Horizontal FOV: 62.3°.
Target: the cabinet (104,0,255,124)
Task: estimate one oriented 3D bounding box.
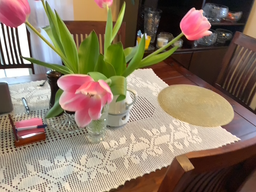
[{"bbox_3d":[0.520,-0.670,2.060,1.350,1.720,0.470,-9,36,-24],"label":"cabinet"}]

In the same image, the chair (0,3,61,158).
[{"bbox_3d":[-0.850,-0.120,1.620,0.490,1.000,0.530,-10,36,-25],"label":"chair"}]

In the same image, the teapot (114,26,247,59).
[{"bbox_3d":[0.530,-0.560,2.110,1.270,0.150,0.410,-7,35,-21],"label":"teapot"}]

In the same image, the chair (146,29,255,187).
[{"bbox_3d":[0.550,0.080,1.560,0.540,0.990,0.480,-9,36,-23],"label":"chair"}]

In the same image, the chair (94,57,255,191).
[{"bbox_3d":[0.150,0.400,0.990,0.480,1.000,0.490,-10,36,-24],"label":"chair"}]
